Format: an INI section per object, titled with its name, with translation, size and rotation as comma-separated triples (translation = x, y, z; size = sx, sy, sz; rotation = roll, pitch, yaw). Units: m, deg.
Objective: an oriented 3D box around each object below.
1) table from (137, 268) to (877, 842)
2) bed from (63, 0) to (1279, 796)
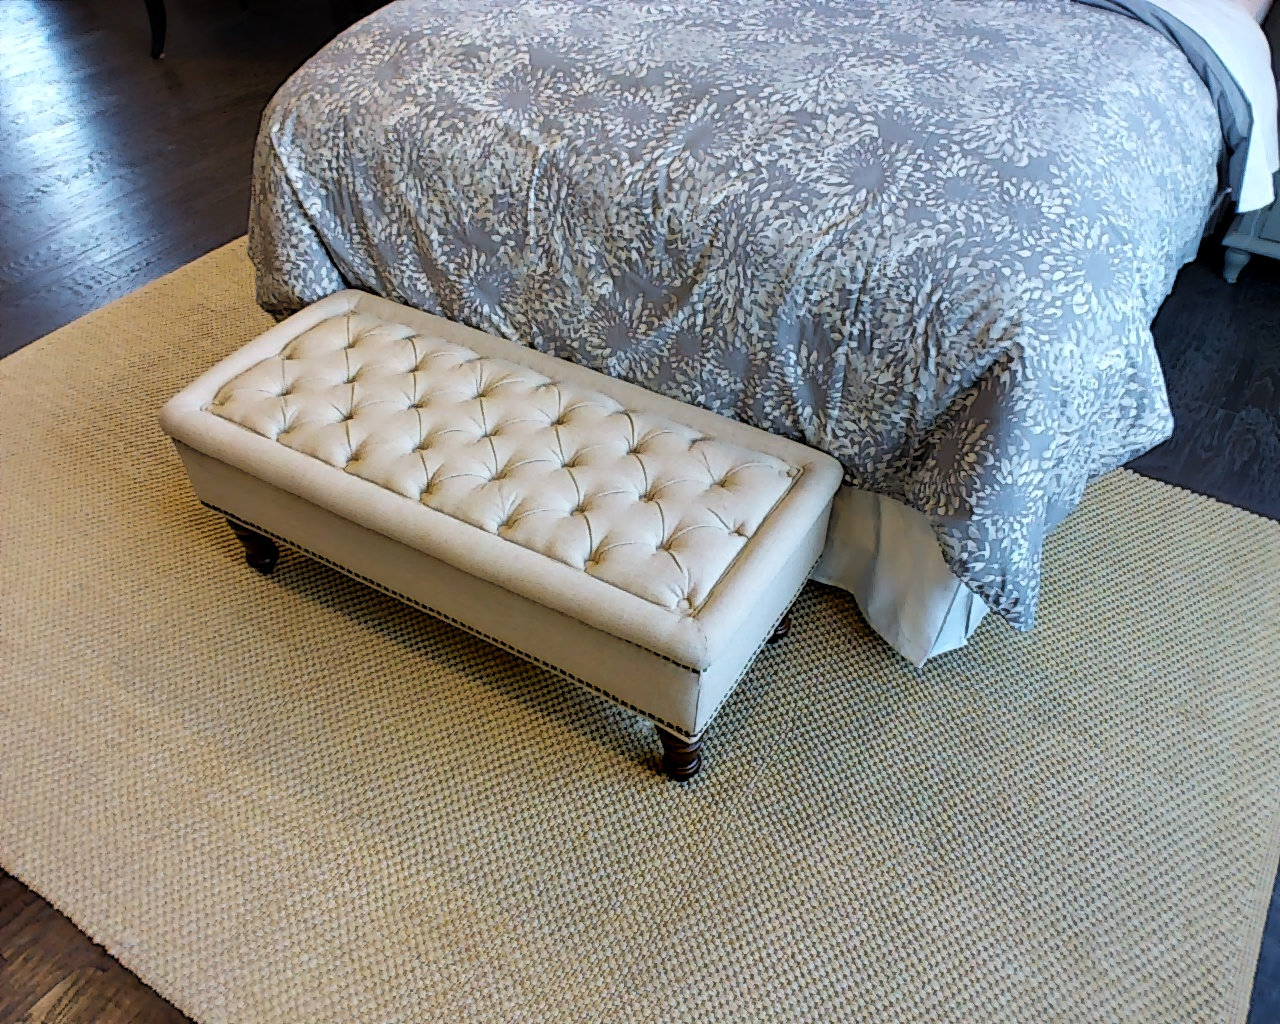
[table]
translation = -0.220, 0.010, 1.810
size = 1.050, 0.400, 0.520
rotation = 22, 45, 22
[bed]
translation = 0.400, -0.960, 2.340
size = 1.880, 1.170, 2.230
rotation = 23, 46, 24
